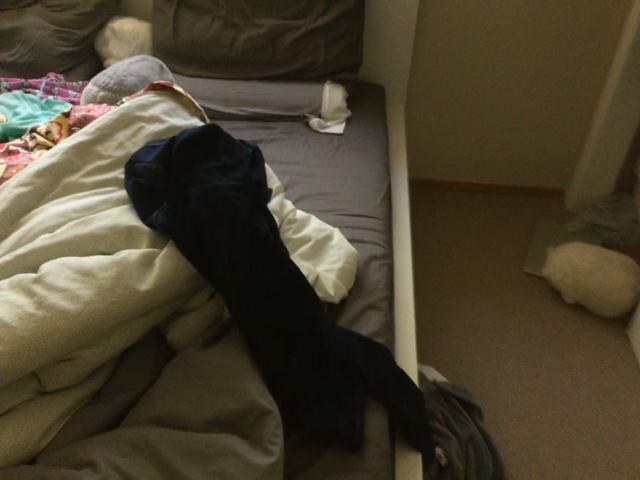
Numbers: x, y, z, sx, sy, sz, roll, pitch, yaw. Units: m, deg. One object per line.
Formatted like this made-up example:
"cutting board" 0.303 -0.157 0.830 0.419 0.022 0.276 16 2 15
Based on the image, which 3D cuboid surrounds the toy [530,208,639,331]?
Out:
"toy" 0.790 0.080 1.720 0.230 0.190 0.260 19 41 18
